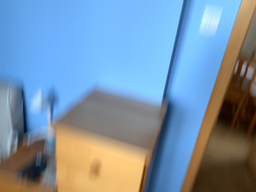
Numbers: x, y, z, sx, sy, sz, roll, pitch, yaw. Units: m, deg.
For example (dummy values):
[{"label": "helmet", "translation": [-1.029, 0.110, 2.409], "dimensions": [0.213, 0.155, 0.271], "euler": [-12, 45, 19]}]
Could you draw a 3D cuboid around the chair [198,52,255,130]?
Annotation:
[{"label": "chair", "translation": [1.400, -0.090, 2.980], "dimensions": [0.480, 0.880, 0.500], "euler": [22, 29, 27]}]
